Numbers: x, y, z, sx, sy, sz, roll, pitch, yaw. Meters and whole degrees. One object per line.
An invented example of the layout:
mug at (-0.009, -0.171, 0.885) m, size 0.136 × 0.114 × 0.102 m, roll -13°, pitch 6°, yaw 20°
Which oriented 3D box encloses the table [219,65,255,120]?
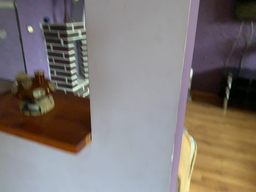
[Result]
table at (1.940, -0.020, 2.920) m, size 1.170 × 0.560 × 0.580 m, roll 10°, pitch 24°, yaw 20°
